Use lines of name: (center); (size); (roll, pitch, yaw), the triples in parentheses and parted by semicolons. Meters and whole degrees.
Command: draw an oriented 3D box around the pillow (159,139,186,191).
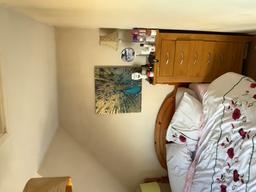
pillow: (0.550, 0.920, 2.720); (0.490, 0.130, 0.570); (-119, 30, -73)
